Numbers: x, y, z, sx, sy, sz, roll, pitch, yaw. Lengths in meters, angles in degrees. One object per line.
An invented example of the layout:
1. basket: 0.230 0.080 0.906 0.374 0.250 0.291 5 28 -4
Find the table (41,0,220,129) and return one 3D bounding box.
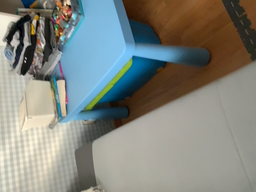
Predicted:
1. table: -0.090 -0.230 1.200 0.850 0.500 0.580 -34 65 48
